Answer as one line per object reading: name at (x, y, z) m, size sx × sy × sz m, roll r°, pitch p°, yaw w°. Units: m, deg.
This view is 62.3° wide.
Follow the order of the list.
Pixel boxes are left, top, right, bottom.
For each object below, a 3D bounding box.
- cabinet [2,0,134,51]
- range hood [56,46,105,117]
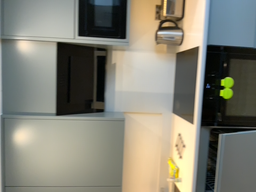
cabinet at (-0.470, -0.730, 1.810) m, size 0.330 × 1.000 × 0.600 m, roll -128°, pitch 40°, yaw -81°
range hood at (-0.410, -0.130, 1.900) m, size 0.300 × 0.380 × 0.570 m, roll -128°, pitch 40°, yaw -81°
